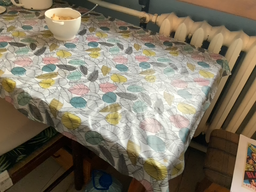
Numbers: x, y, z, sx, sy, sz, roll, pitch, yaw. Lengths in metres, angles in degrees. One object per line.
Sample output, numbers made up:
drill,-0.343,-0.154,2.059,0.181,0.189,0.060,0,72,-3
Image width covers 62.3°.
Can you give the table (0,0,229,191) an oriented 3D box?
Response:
table,-0.250,0.070,1.000,1.010,0.760,0.630,26,43,19
